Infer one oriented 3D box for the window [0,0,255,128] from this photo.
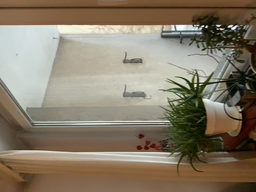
[{"bbox_3d":[-0.160,-0.650,0.700,2.990,1.640,0.140,92,178,-54],"label":"window"}]
